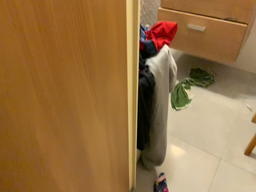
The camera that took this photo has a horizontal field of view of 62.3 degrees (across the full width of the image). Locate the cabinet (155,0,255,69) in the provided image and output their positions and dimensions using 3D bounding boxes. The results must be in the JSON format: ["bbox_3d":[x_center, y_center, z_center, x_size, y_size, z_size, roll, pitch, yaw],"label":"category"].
[{"bbox_3d":[0.600,-0.630,1.540,0.620,0.560,0.450,23,47,25],"label":"cabinet"}]
